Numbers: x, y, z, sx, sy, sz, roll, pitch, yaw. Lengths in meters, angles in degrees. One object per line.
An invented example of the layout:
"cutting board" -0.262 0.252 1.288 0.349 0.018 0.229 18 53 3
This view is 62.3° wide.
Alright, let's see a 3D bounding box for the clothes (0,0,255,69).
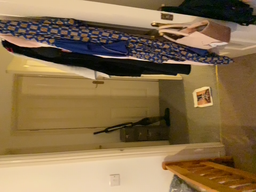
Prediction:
"clothes" 0.000 -0.260 1.080 0.440 1.260 0.130 178 92 -73
